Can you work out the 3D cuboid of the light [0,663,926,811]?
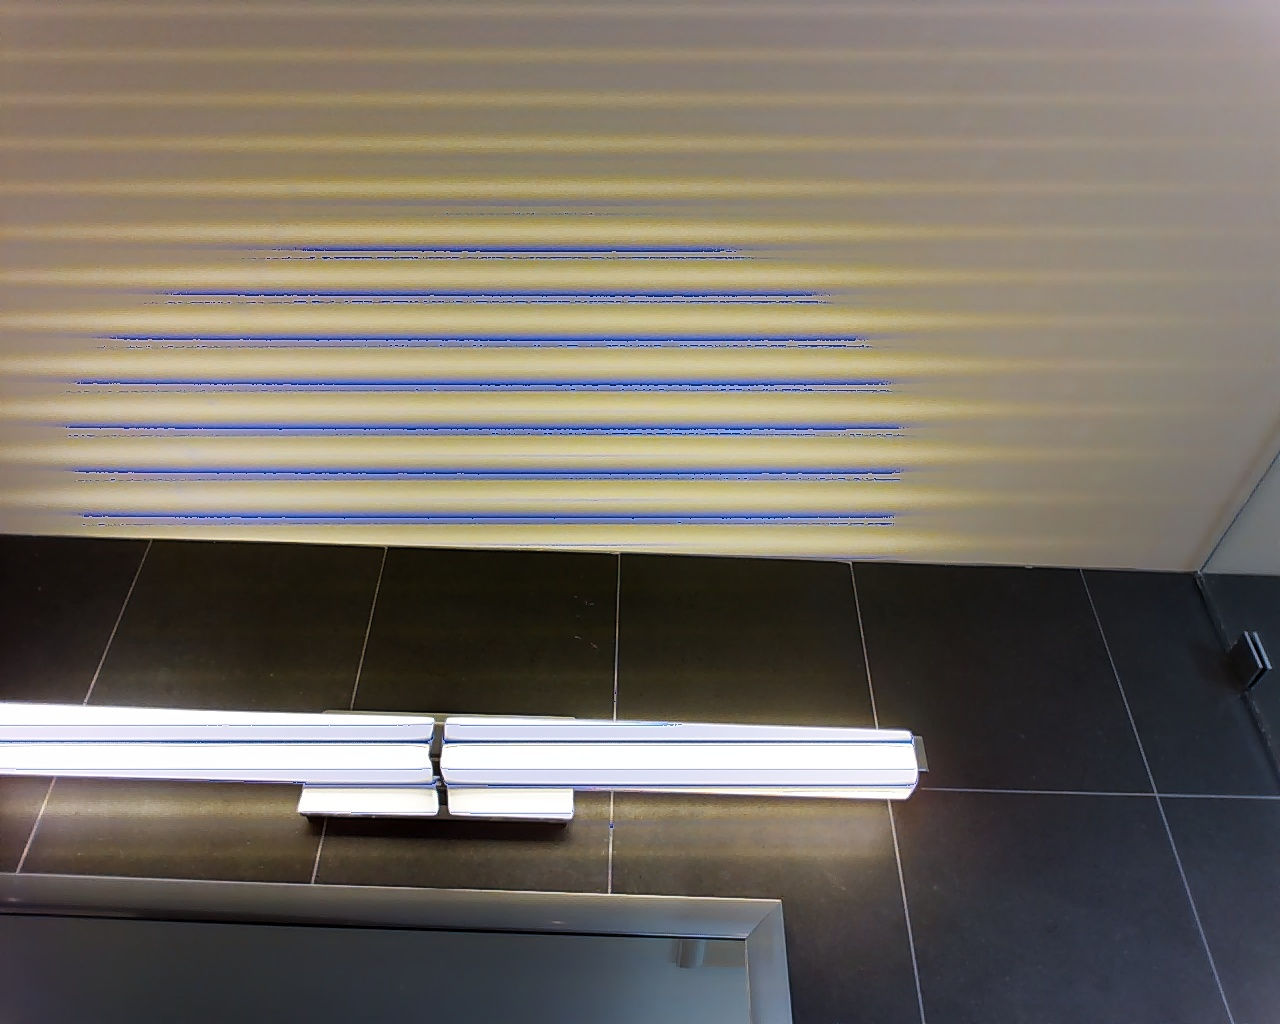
[{"bbox_3d":[-0.200,0.240,1.150,0.980,0.100,0.080,2,-42,-1],"label":"light"}]
